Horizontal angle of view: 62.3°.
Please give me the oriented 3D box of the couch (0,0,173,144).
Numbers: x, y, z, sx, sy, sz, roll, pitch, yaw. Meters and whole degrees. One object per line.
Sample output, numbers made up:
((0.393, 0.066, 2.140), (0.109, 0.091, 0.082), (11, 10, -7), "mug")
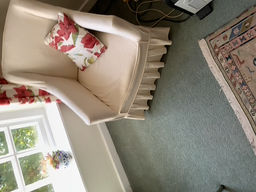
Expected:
((-0.310, -0.240, 1.540), (0.770, 0.830, 0.660), (30, 113, 35), "couch")
